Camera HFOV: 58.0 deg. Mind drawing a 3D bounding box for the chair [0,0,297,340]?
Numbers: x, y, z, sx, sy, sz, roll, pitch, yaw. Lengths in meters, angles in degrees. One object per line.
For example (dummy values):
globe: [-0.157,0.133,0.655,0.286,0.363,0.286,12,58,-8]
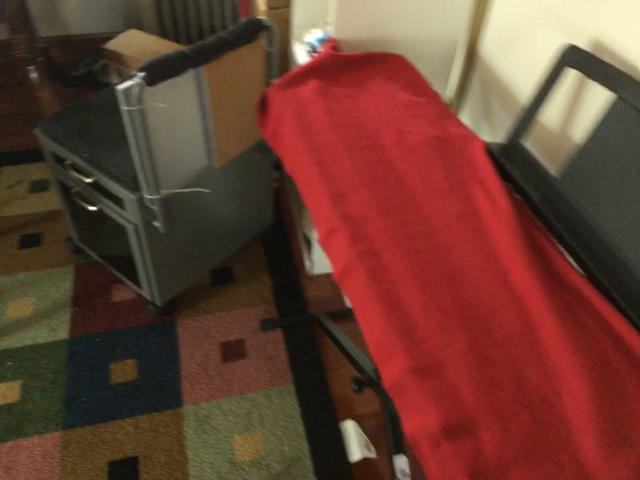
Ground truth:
chair: [-0.440,-0.260,1.490,0.510,0.760,0.530,34,55,22]
